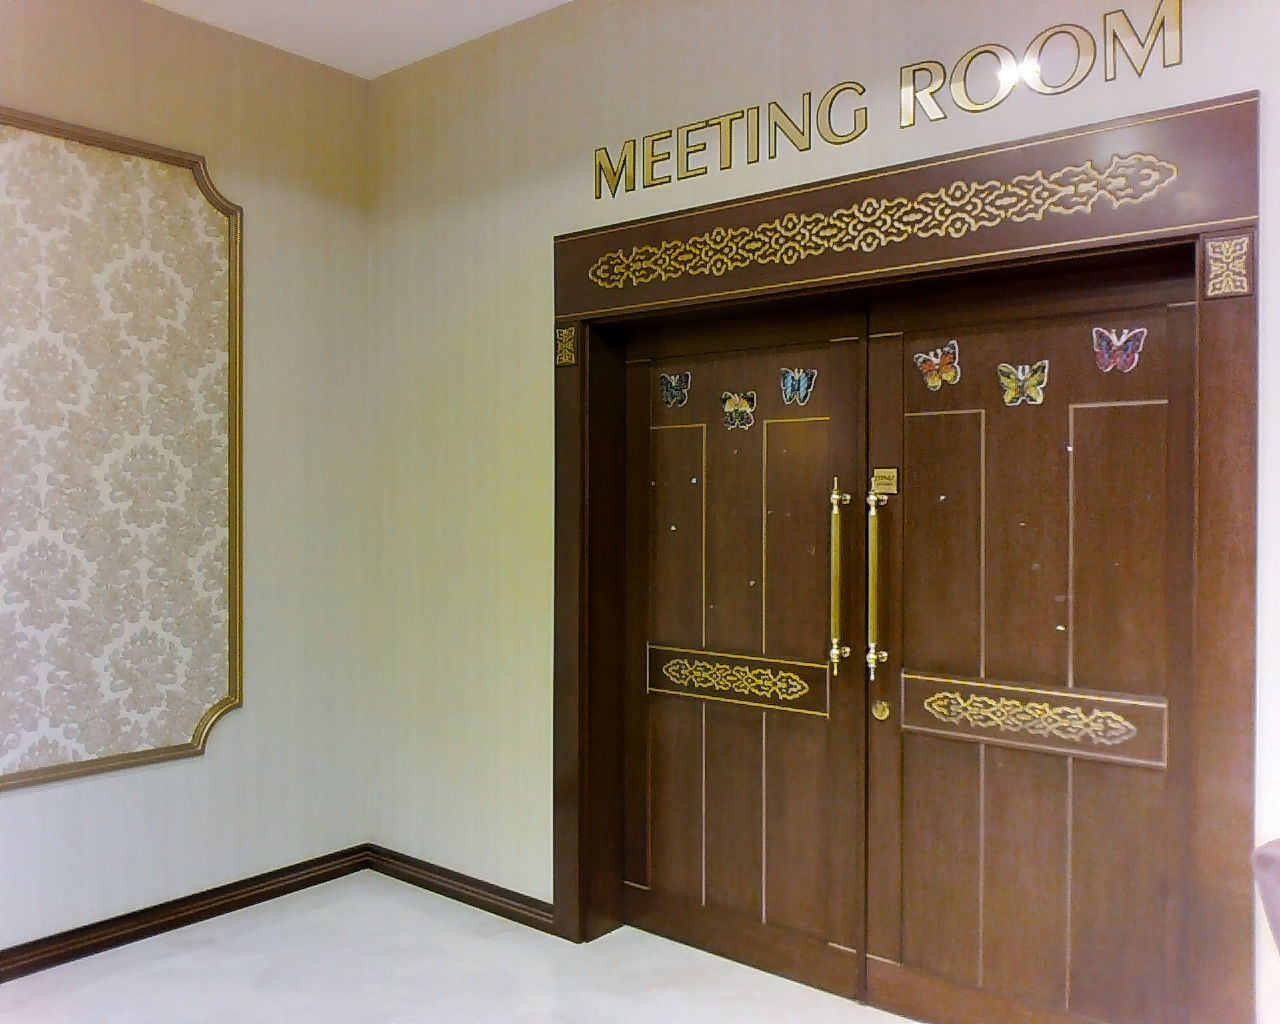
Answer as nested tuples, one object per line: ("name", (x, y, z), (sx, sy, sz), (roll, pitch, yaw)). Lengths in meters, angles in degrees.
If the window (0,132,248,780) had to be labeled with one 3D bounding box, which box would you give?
("window", (-1.859, -0.170, 3.470), (0.040, 1.991, 1.270), (1, 1, 40))
